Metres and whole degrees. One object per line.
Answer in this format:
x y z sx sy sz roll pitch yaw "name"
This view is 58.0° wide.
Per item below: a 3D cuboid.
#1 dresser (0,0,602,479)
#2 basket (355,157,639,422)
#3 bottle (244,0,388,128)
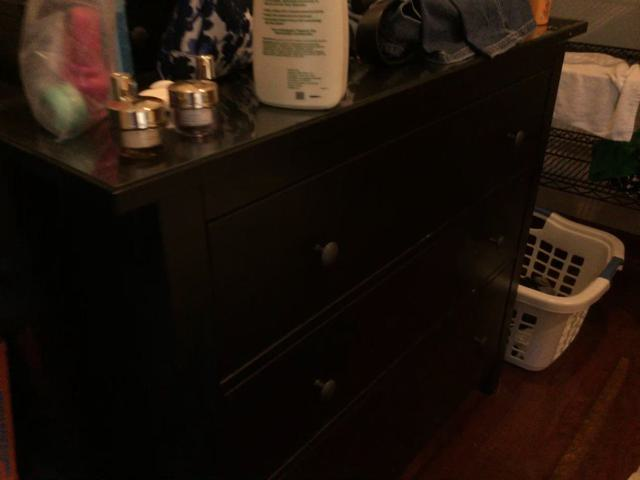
0.010 0.060 1.120 0.540 1.020 1.070 20 36 35 "dresser"
0.560 0.080 1.750 0.660 0.360 0.620 20 36 35 "basket"
0.000 -0.220 0.630 0.090 0.150 0.130 20 36 35 "bottle"
